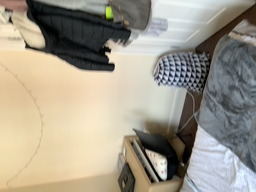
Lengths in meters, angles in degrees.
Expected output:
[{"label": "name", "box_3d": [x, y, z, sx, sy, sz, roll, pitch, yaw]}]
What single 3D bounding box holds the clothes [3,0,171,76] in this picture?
[{"label": "clothes", "box_3d": [-0.300, -0.430, 1.540, 0.770, 0.920, 0.450, 168, 100, -70]}]
